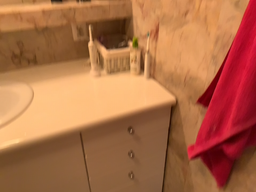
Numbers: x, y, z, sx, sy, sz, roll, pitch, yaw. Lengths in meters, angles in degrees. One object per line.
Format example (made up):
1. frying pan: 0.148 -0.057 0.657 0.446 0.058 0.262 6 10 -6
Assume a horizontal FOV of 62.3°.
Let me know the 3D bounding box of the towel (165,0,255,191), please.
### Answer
1. towel: 0.250 0.020 0.570 0.120 0.750 0.250 -14 34 -20
